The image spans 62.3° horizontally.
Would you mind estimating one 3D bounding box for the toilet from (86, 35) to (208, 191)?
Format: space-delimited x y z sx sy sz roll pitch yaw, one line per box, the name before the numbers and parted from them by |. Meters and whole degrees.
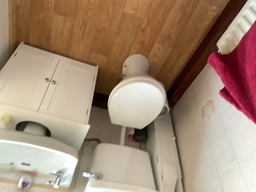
toilet | 0.050 0.160 1.460 0.450 0.880 0.680 13 134 -12
